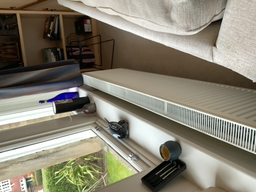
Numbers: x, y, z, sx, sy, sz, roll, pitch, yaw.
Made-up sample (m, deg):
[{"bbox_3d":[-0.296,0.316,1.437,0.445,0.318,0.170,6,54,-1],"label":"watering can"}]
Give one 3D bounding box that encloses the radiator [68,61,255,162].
[{"bbox_3d":[0.210,-0.100,1.640,2.180,0.700,0.160,20,116,56],"label":"radiator"}]
